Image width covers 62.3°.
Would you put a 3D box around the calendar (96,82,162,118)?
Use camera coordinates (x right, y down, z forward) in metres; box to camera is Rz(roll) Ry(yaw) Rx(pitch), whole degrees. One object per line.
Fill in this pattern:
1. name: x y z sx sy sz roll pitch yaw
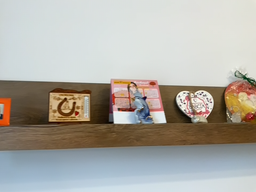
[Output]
1. calendar: 0.000 0.020 0.750 0.210 0.110 0.110 2 -8 -15
